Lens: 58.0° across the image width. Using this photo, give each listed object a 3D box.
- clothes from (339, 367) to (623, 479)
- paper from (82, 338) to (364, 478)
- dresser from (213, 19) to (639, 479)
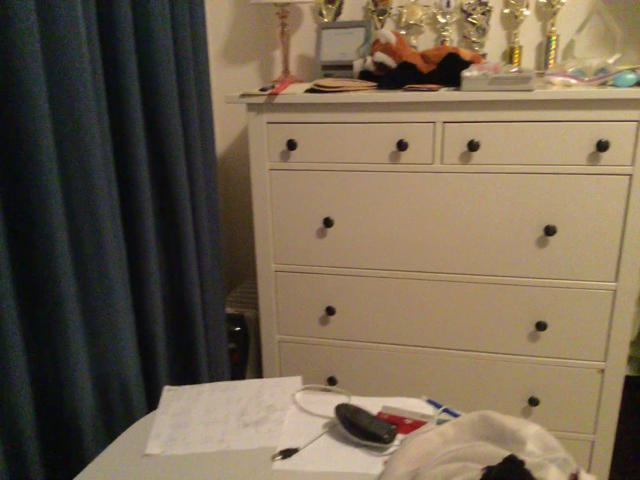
[{"bbox_3d":[0.200,0.360,0.740,0.330,0.160,0.440,3,17,15],"label":"clothes"},{"bbox_3d":[-0.170,0.310,1.150,0.460,0.050,0.320,3,17,15],"label":"paper"},{"bbox_3d":[0.360,0.150,1.770,1.120,1.480,0.550,3,17,15],"label":"dresser"}]
